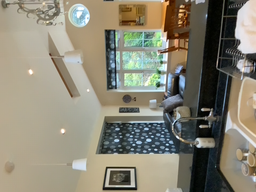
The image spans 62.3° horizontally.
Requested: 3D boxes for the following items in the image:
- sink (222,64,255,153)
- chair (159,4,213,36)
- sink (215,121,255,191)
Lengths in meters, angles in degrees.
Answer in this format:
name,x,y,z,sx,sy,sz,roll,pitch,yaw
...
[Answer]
name,x,y,z,sx,sy,sz,roll,pitch,yaw
sink,0.770,0.060,1.190,0.500,0.210,0.400,-92,2,-72
chair,1.080,-1.500,4.150,0.620,0.840,0.520,-92,1,-65
sink,0.770,0.450,1.310,0.510,0.210,0.410,-92,2,-72
